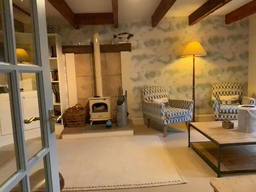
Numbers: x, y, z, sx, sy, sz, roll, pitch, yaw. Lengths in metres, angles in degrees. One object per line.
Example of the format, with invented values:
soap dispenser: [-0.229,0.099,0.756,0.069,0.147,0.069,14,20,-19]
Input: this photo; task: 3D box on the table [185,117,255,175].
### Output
table: [1.410,0.590,2.790,1.010,0.370,1.020,-2,7,-3]
